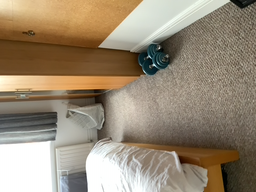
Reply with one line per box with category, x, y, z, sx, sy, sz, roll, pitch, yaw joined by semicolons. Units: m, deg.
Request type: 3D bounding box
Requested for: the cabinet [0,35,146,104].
cabinet;-1.120;-0.160;2.170;1.520;2.100;0.320;-16;76;60
